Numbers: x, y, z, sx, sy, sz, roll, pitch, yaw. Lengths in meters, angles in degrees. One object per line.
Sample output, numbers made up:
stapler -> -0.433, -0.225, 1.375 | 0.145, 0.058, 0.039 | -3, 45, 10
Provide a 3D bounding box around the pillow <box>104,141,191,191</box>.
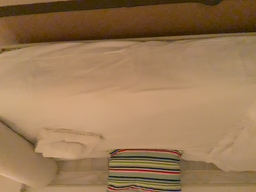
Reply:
pillow -> 0.130, 0.550, 1.600 | 0.590, 0.320, 0.150 | -7, 127, 2
